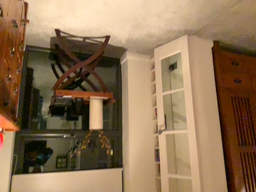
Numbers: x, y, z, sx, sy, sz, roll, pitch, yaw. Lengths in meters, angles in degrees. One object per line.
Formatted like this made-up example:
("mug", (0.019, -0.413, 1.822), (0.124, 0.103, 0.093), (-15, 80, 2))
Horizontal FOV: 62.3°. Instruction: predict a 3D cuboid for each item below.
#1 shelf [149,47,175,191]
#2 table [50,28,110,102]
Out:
("shelf", (0.400, 0.400, 2.510), (0.120, 2.010, 0.200), (4, 166, -23))
("table", (-0.530, -0.310, 2.390), (0.590, 0.670, 0.450), (2, 167, -14))
